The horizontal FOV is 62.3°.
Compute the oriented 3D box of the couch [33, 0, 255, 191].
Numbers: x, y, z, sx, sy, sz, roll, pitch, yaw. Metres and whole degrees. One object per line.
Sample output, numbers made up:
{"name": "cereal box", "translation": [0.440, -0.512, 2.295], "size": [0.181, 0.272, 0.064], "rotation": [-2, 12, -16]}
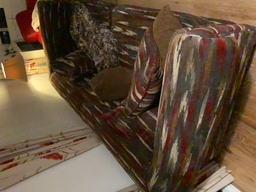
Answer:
{"name": "couch", "translation": [-0.140, -0.330, 2.090], "size": [2.580, 0.780, 1.180], "rotation": [35, 132, 47]}
